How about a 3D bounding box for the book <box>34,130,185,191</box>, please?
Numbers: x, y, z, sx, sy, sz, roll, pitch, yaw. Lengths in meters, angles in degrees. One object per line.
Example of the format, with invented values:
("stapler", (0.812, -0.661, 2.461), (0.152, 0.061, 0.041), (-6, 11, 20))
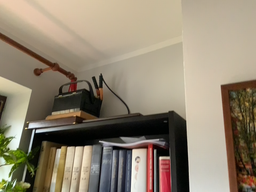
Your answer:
("book", (-0.110, 0.340, 0.960), (0.690, 0.290, 0.170), (-10, -25, 30))
